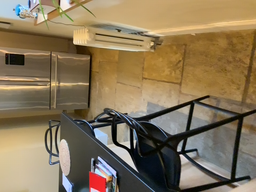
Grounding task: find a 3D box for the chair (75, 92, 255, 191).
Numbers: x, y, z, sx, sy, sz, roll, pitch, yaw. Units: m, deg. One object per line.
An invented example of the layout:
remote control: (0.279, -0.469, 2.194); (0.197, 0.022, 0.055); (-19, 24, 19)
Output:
chair: (0.270, 0.280, 1.310); (0.510, 1.010, 0.490); (26, 112, 52)
